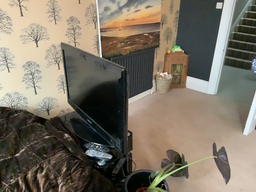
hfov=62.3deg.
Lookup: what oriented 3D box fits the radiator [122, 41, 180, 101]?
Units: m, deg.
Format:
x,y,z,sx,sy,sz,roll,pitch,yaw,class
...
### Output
x,y,z,sx,sy,sz,roll,pitch,yaw,class
0.380,-0.440,3.420,1.010,0.740,0.260,-21,34,-38,radiator
